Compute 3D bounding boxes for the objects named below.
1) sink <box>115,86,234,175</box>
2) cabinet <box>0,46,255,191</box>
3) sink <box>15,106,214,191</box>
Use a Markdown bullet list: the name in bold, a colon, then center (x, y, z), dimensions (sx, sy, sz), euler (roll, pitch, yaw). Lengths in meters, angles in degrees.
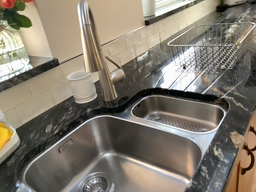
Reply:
- **sink**: center (0.170, 0.100, 0.800), dimensions (0.360, 0.140, 0.220), euler (12, 35, 36)
- **cabinet**: center (0.170, 0.370, 1.120), dimensions (0.700, 0.890, 1.220), euler (12, 35, 36)
- **sink**: center (-0.030, 0.250, 0.650), dimensions (0.450, 0.200, 0.360), euler (12, 35, 36)
